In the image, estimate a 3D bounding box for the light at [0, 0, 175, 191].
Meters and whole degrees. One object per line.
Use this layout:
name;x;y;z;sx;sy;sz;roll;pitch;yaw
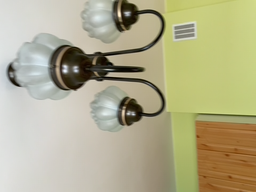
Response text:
light;-0.170;-0.090;0.730;0.470;0.490;0.600;0;-151;28
